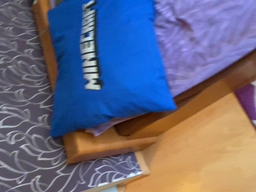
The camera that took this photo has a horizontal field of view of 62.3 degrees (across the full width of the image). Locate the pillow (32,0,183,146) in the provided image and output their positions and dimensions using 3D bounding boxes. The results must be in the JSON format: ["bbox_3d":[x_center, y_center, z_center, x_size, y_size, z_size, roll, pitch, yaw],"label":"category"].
[{"bbox_3d":[-0.180,-0.230,1.080,0.640,0.310,0.830,-25,70,42],"label":"pillow"}]
